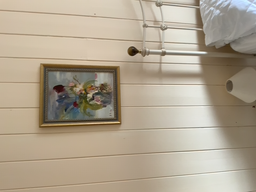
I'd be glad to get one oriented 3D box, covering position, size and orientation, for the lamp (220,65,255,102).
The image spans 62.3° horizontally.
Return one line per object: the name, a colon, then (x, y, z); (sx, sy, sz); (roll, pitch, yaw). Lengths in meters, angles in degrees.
lamp: (0.850, -0.080, 1.490); (0.200, 0.300, 0.220); (148, 121, -75)
